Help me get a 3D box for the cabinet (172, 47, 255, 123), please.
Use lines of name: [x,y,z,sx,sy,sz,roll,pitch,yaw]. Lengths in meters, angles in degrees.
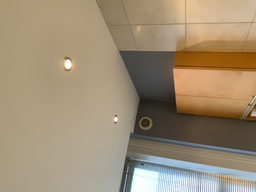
cabinet: [0.730,-0.040,1.620,0.840,0.730,0.130,64,-145,-59]
